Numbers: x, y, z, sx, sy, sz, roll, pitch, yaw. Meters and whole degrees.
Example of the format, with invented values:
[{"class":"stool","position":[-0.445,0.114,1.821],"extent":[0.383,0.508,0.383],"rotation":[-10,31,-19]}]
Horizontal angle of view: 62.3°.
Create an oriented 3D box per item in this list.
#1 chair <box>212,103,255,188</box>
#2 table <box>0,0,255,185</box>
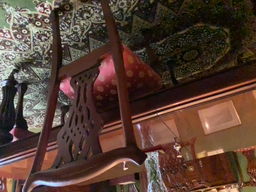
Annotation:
[{"class":"chair","position":[1.690,0.720,3.030],"extent":[0.540,0.990,0.570],"rotation":[-22,148,21]},{"class":"table","position":[0.070,0.060,1.590],"extent":[1.880,0.760,1.150],"rotation":[-19,149,17]}]
